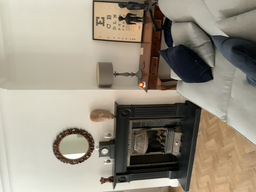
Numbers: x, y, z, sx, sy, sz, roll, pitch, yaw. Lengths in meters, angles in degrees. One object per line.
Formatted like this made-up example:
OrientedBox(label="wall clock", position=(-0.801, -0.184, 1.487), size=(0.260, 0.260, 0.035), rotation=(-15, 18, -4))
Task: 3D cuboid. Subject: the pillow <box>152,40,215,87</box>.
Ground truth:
OrientedBox(label="pillow", position=(0.520, -0.340, 2.110), size=(0.180, 0.450, 0.450), rotation=(51, -178, -17))
